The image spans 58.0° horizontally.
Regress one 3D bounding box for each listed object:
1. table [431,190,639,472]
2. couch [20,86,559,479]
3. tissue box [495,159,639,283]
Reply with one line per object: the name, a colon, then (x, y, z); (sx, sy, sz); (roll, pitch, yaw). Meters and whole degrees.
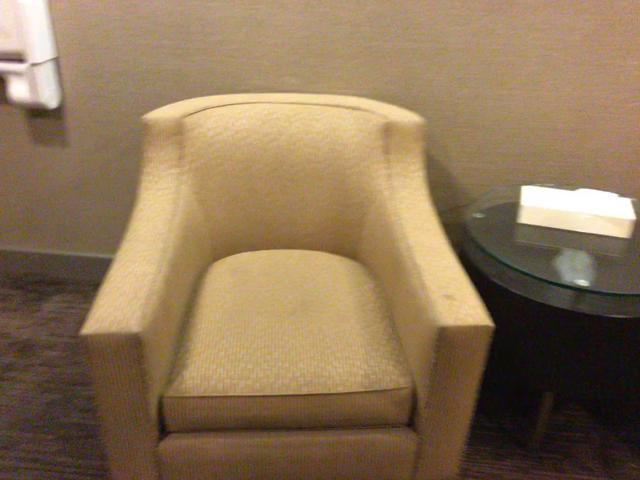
table: (0.670, 0.230, 1.660); (0.580, 0.540, 0.550); (5, 26, 3)
couch: (-0.090, 0.110, 1.620); (0.930, 0.860, 0.990); (2, 23, -4)
tissue box: (0.690, -0.060, 1.600); (0.320, 0.240, 0.240); (5, 26, 3)
